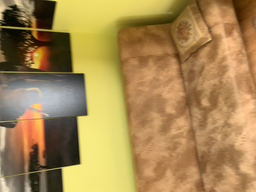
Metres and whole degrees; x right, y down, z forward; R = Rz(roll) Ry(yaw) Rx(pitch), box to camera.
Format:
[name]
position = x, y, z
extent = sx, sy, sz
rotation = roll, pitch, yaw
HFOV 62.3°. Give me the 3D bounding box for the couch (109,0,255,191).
[couch]
position = 0.510, 0.240, 1.740
extent = 0.950, 0.870, 1.960
rotation = 148, 117, -62
